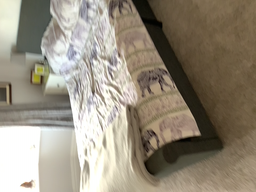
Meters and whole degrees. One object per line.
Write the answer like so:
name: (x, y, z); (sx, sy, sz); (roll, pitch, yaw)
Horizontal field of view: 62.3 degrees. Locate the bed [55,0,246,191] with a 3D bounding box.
bed: (-0.190, -0.130, 2.240); (1.620, 0.470, 2.270); (-48, 51, 44)
